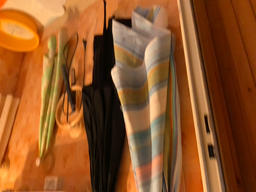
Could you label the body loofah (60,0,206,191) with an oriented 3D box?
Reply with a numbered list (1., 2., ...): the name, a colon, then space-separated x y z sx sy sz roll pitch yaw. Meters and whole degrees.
1. body loofah: 0.010 0.020 0.720 0.340 0.820 0.240 -19 149 35
